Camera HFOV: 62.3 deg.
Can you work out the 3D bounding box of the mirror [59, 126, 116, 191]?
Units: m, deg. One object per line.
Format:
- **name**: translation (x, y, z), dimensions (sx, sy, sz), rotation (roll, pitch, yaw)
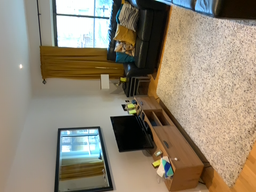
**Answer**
- **mirror**: translation (-0.630, 0.860, 3.050), dimensions (1.270, 0.660, 0.070), rotation (-119, 31, -58)
